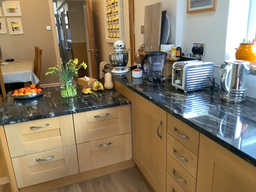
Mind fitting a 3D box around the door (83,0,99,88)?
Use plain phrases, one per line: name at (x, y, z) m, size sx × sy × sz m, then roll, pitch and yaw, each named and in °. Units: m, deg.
door at (-0.820, -1.190, 4.720) m, size 0.150 × 1.880 × 0.830 m, roll -5°, pitch 18°, yaw -12°
